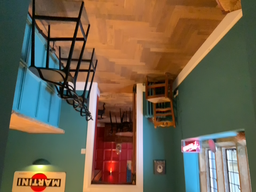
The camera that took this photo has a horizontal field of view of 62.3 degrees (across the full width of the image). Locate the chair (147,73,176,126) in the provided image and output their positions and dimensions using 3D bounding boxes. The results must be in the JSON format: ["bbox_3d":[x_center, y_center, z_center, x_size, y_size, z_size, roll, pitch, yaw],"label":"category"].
[{"bbox_3d":[0.650,0.100,4.130,0.440,0.920,0.540,-4,165,20],"label":"chair"}]

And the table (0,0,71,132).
[{"bbox_3d":[-1.310,-0.200,2.640,0.620,1.110,2.140,2,166,-2],"label":"table"}]
